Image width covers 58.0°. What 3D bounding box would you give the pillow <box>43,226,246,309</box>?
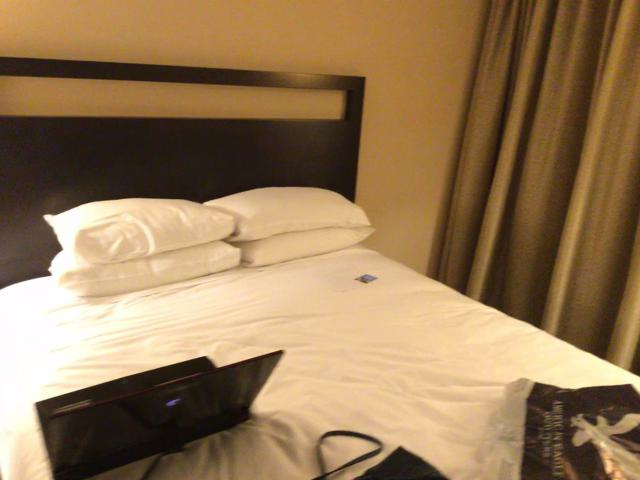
[{"bbox_3d":[-0.660,0.080,2.150,0.640,0.170,0.420,-2,14,-30],"label":"pillow"}]

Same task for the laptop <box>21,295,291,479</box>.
[{"bbox_3d":[-0.360,0.310,1.220,0.460,0.250,0.370,-2,14,-30],"label":"laptop"}]

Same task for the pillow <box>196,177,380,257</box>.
[{"bbox_3d":[-0.140,-0.110,2.430,0.640,0.240,0.410,-2,14,-30],"label":"pillow"}]

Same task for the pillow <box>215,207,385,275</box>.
[{"bbox_3d":[-0.080,-0.010,2.370,0.620,0.200,0.280,-2,14,-30],"label":"pillow"}]

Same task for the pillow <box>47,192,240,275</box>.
[{"bbox_3d":[-0.660,-0.040,2.150,0.610,0.210,0.380,-2,14,-30],"label":"pillow"}]
